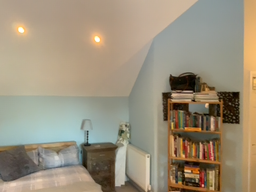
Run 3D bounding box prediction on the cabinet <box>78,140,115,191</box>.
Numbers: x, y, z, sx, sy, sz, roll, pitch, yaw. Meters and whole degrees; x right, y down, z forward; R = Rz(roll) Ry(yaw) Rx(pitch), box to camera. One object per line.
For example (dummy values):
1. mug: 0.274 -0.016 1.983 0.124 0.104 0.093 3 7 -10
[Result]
1. cabinet: -0.570 1.260 3.760 0.520 0.810 0.470 -1 1 -26
